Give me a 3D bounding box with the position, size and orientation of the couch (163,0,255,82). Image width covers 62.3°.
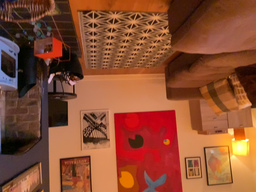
[{"bbox_3d":[0.640,-0.490,1.170,0.510,0.620,1.100,-3,174,-10],"label":"couch"}]
